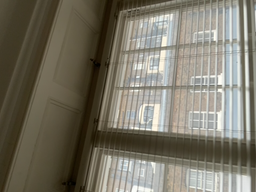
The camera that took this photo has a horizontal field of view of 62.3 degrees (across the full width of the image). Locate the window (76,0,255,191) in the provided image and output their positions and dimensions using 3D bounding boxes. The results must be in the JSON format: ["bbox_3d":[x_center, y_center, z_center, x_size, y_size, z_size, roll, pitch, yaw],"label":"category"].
[{"bbox_3d":[0.800,-0.240,1.420,0.090,2.340,2.320,35,-121,-58],"label":"window"}]
